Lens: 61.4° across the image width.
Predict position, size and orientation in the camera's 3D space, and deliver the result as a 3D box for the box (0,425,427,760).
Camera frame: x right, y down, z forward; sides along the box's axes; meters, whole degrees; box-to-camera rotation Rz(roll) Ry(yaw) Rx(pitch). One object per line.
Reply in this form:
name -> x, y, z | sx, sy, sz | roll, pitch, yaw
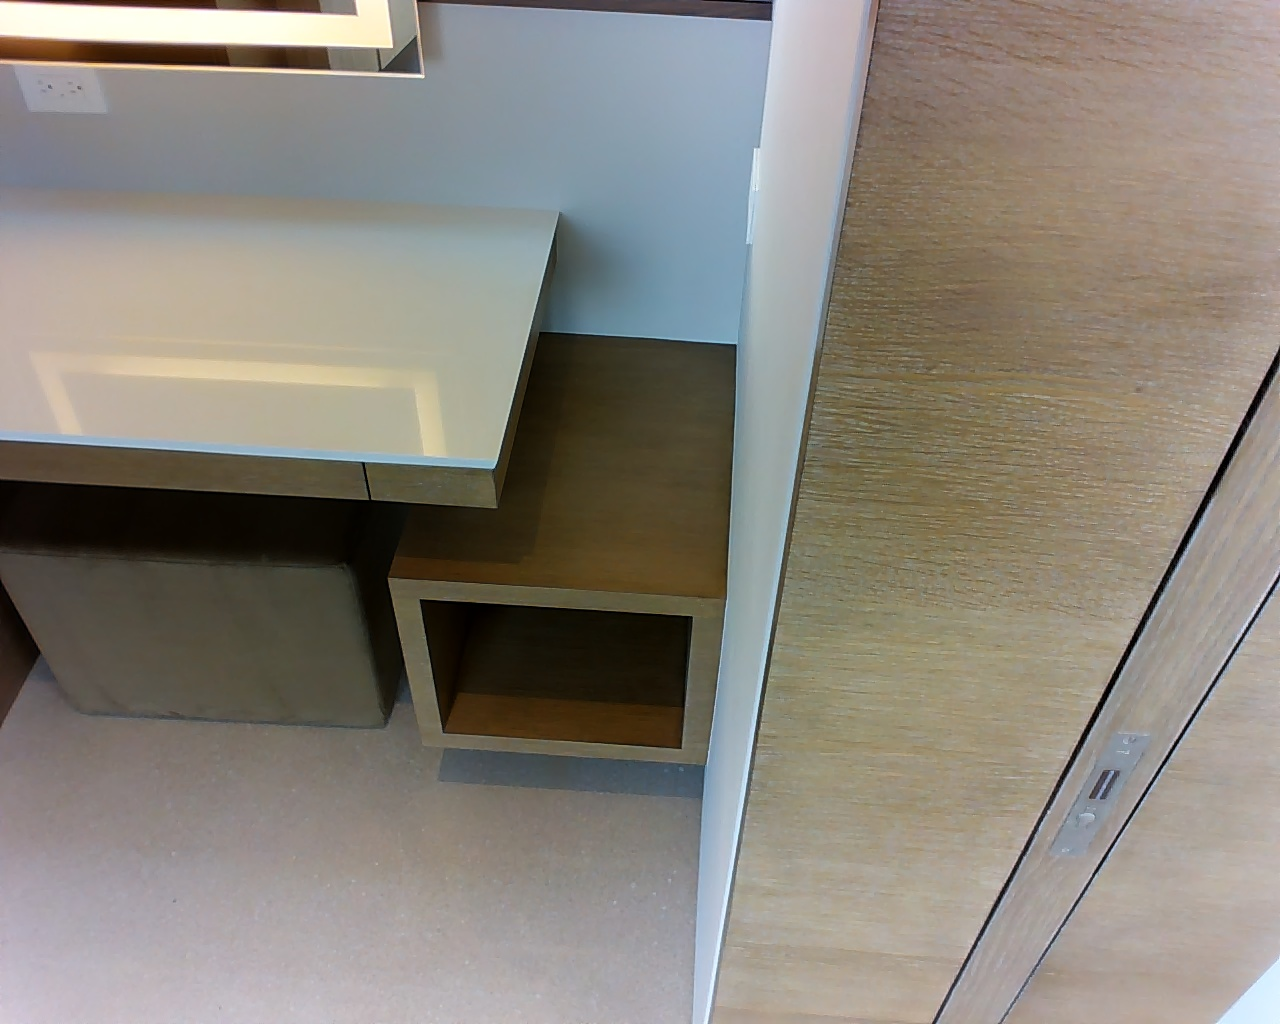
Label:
box -> -0.690, 0.140, 1.810 | 0.550, 0.440, 0.280 | 6, 44, 4
